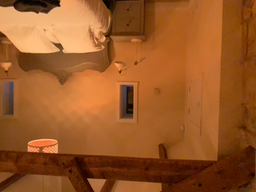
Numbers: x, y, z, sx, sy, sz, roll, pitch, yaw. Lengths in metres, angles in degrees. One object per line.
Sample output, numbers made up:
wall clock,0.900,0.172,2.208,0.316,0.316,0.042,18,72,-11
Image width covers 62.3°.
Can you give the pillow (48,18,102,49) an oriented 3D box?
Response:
pillow,-0.770,-0.930,3.240,0.610,0.300,0.680,1,-177,5
